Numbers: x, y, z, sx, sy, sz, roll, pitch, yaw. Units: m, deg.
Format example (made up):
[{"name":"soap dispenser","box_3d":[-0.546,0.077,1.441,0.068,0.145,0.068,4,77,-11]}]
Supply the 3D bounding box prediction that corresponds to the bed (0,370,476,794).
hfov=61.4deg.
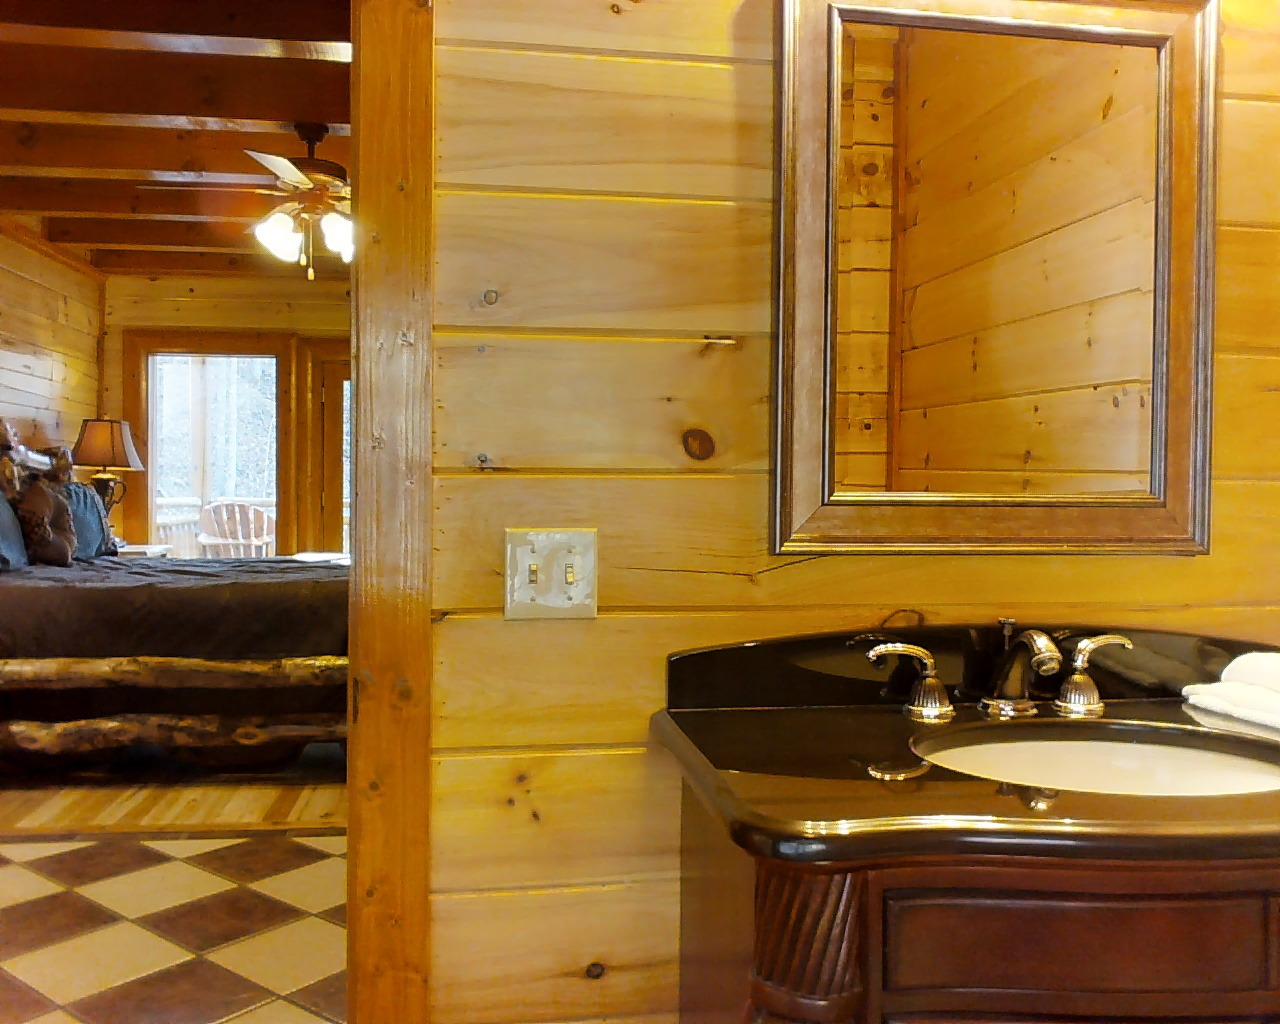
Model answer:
[{"name":"bed","box_3d":[-2.119,0.240,5.280,2.589,1.581,2.450,0,1,-9]}]
